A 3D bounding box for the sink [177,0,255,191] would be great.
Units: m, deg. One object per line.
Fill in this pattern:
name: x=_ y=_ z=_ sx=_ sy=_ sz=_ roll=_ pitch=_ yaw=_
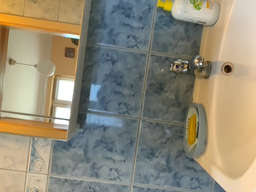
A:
sink: x=0.270 y=-0.060 z=0.460 sx=0.380 sy=0.140 sz=0.520 roll=-129 pitch=48 yaw=-86
